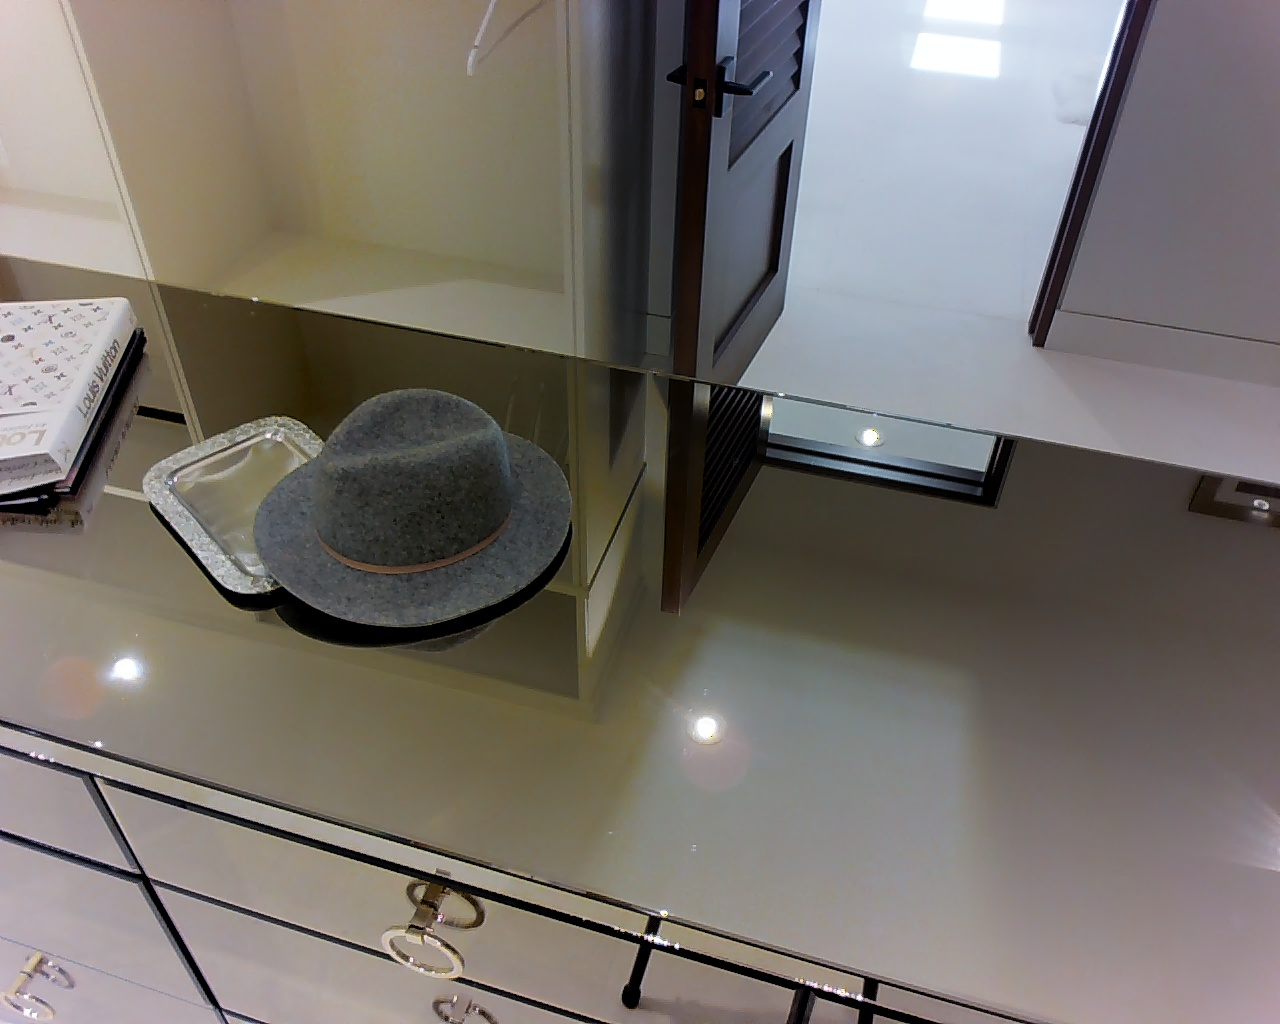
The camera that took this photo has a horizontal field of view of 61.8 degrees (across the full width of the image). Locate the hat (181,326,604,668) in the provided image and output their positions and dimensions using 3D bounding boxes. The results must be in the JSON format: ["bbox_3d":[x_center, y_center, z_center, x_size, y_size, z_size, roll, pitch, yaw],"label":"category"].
[{"bbox_3d":[-0.230,-0.030,1.100,0.310,0.140,0.300,11,43,11],"label":"hat"}]

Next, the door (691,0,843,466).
[{"bbox_3d":[0.320,-1.300,2.110,0.040,2.520,0.800,17,44,18],"label":"door"}]

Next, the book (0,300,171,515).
[{"bbox_3d":[-0.760,-0.130,1.270,0.300,0.070,0.330,-3,42,-4],"label":"book"}]
